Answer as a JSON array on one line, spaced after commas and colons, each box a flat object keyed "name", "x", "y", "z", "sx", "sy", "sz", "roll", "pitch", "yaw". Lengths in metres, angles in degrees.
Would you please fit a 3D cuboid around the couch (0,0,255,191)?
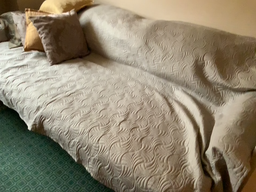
[{"name": "couch", "x": -0.240, "y": -0.170, "z": 1.610, "sx": 2.220, "sy": 0.700, "sz": 1.200, "roll": 27, "pitch": 42, "yaw": 29}]
